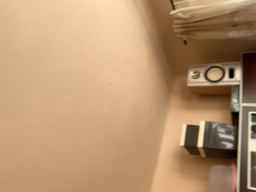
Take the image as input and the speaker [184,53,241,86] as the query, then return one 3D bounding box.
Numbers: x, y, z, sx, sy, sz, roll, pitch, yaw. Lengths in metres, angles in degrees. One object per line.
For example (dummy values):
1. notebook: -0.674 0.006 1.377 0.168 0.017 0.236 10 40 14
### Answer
1. speaker: 0.740 -0.210 1.840 0.340 0.410 0.230 -1 -89 -59
